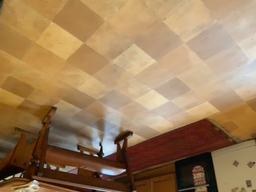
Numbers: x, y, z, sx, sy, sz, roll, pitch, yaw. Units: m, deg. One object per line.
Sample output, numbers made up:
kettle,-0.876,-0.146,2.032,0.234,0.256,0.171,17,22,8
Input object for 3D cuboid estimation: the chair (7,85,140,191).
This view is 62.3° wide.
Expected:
chair,-0.480,0.480,2.210,1.150,0.750,0.440,19,141,-22

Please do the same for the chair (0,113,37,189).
chair,-1.780,0.850,2.850,0.380,0.680,1.410,29,137,-32
